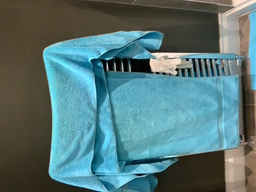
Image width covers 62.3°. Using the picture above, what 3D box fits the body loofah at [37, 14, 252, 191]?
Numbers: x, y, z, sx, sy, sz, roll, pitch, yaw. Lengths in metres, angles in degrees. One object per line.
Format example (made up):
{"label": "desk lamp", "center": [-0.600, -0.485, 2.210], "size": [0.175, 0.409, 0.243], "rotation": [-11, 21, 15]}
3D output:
{"label": "body loofah", "center": [0.150, 0.110, 1.160], "size": [0.200, 1.140, 0.940], "rotation": [-178, 86, -71]}
